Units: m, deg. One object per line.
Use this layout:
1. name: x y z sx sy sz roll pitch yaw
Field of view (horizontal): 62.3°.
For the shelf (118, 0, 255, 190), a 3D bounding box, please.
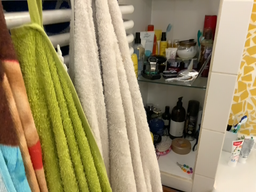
1. shelf: 0.210 -0.270 0.760 0.370 1.130 0.370 10 26 20
